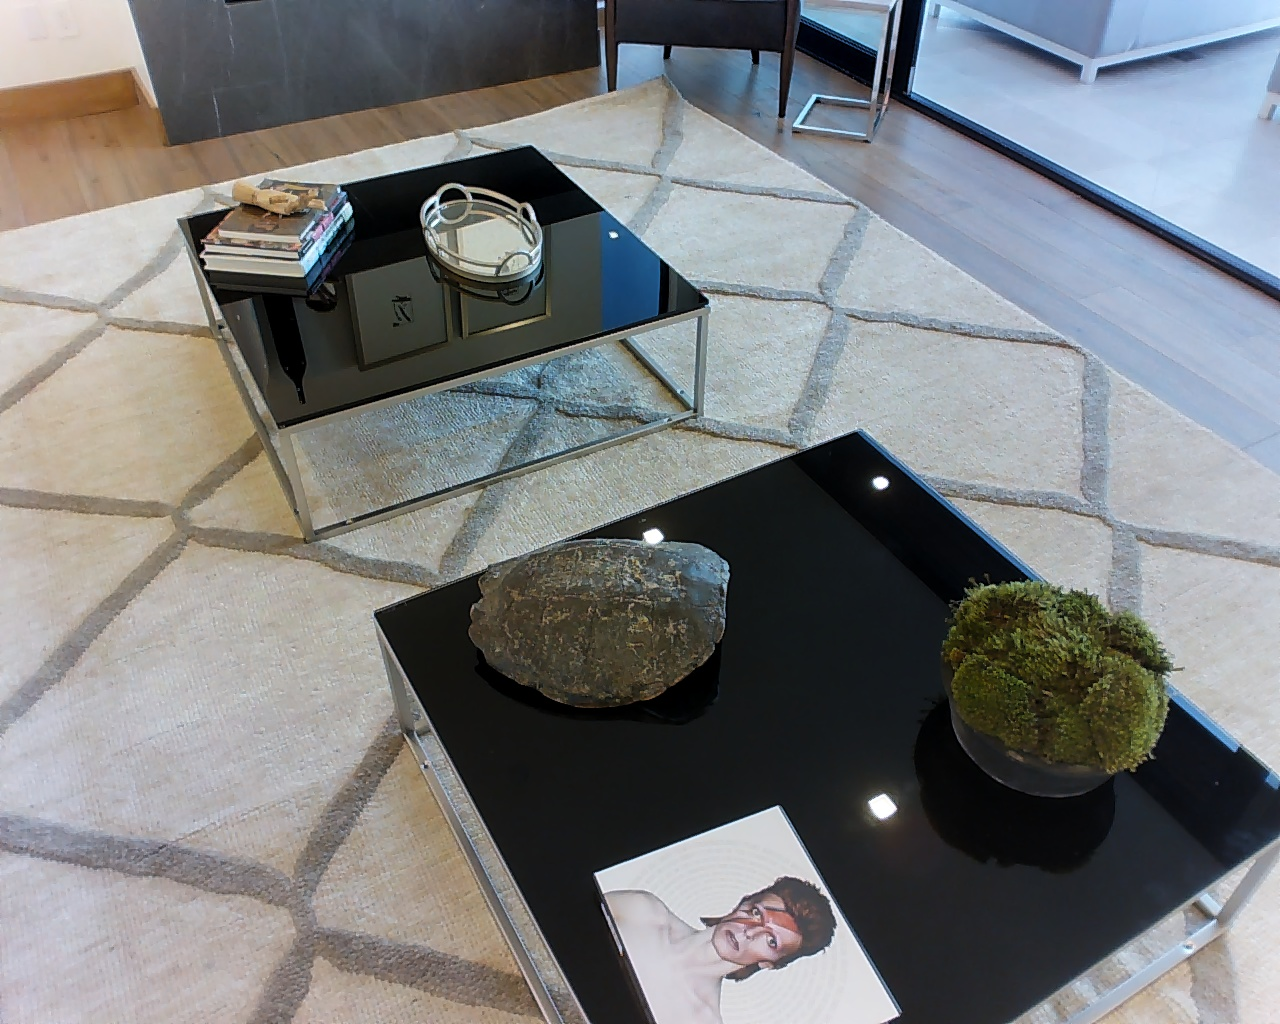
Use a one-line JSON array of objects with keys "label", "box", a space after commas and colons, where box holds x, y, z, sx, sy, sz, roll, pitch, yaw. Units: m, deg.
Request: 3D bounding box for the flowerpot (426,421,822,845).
[{"label": "flowerpot", "box": [-0.040, 0.170, 1.710, 0.430, 0.330, 0.460, -18, 45, -20]}]

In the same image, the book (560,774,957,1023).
[{"label": "book", "box": [0.130, 0.540, 1.300, 0.340, 0.110, 0.330, -19, 46, -21]}]
